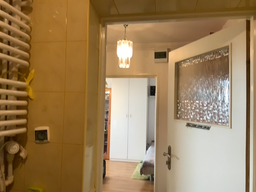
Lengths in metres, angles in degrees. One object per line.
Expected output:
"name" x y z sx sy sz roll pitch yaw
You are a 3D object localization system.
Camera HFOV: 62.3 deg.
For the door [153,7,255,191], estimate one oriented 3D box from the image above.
"door" 0.500 0.660 1.510 0.110 2.200 1.150 2 -2 -21
